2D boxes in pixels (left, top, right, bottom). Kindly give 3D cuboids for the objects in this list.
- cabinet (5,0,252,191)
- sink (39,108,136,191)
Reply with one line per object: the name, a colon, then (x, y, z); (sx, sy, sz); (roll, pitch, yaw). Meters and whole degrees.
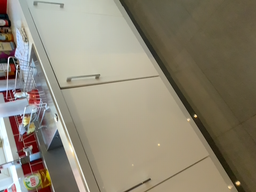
cabinet: (-0.010, 0.300, 1.390); (0.590, 0.920, 2.420); (-50, 60, 45)
sink: (-0.270, 0.410, 1.170); (0.540, 0.230, 0.440); (-50, 60, 45)
